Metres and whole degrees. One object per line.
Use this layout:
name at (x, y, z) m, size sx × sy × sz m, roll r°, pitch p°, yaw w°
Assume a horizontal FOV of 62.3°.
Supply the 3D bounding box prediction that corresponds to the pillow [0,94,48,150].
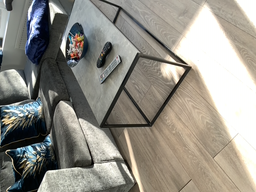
pillow at (-1.090, 0.240, 2.150) m, size 0.490 × 0.430 × 0.220 m, roll 55°, pitch 142°, yaw 40°

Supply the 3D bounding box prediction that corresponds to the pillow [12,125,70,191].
pillow at (-0.770, 0.530, 1.830) m, size 0.470 × 0.330 × 0.320 m, roll 55°, pitch 127°, yaw 40°

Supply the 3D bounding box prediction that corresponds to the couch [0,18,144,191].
couch at (-0.890, 0.220, 2.170) m, size 0.990 × 0.800 × 2.160 m, roll -60°, pitch 44°, yaw 28°
